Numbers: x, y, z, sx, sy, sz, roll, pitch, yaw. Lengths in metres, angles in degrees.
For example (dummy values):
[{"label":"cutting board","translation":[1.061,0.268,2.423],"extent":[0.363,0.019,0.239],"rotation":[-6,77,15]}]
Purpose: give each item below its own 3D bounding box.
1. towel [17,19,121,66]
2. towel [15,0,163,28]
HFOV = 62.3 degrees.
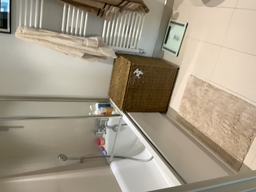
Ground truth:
[{"label":"towel","translation":[-0.530,-0.480,1.990],"extent":[0.150,0.900,0.290],"rotation":[43,126,56]},{"label":"towel","translation":[-0.290,-0.910,1.900],"extent":[0.200,1.290,0.360],"rotation":[38,122,58]}]
